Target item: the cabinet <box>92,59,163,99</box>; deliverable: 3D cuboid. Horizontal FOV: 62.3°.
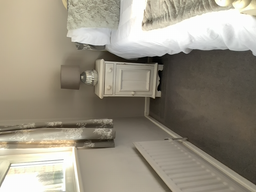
[{"bbox_3d":[-0.020,-0.200,2.490,0.360,0.740,0.420,-152,64,-70],"label":"cabinet"}]
